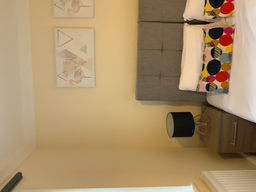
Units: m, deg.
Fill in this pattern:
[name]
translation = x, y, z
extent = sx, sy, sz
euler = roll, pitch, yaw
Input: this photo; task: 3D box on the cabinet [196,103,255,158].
[cabinet]
translation = 1.060, 0.330, 2.180
extent = 0.480, 0.530, 0.430
euler = -113, 23, -81
